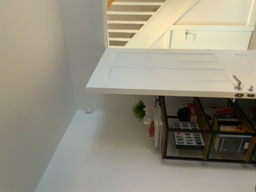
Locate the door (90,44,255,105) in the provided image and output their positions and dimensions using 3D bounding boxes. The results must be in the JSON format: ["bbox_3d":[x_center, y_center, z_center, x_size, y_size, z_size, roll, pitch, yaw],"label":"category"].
[{"bbox_3d":[0.750,-0.230,1.730,1.000,1.920,0.060,-82,-8,-58],"label":"door"}]
